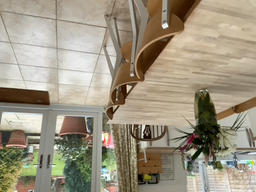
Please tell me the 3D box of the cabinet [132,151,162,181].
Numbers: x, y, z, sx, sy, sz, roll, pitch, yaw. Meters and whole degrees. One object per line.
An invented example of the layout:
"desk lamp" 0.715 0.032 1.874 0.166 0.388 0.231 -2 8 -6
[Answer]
"cabinet" 0.310 1.180 3.590 0.450 0.470 0.170 5 158 -17

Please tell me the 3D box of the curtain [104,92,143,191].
"curtain" -0.100 1.070 3.540 0.510 2.220 0.430 6 157 -21

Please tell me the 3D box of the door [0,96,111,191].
"door" -1.630 1.050 3.440 2.780 2.090 0.100 6 157 -20
